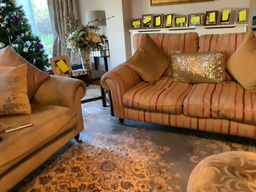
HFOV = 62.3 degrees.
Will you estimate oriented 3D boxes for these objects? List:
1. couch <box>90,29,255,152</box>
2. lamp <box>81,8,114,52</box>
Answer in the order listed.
[{"bbox_3d":[0.600,-0.160,2.120,1.610,0.850,0.880,5,23,23],"label":"couch"},{"bbox_3d":[-0.520,-1.150,3.730,0.380,0.700,0.320,6,23,26],"label":"lamp"}]
